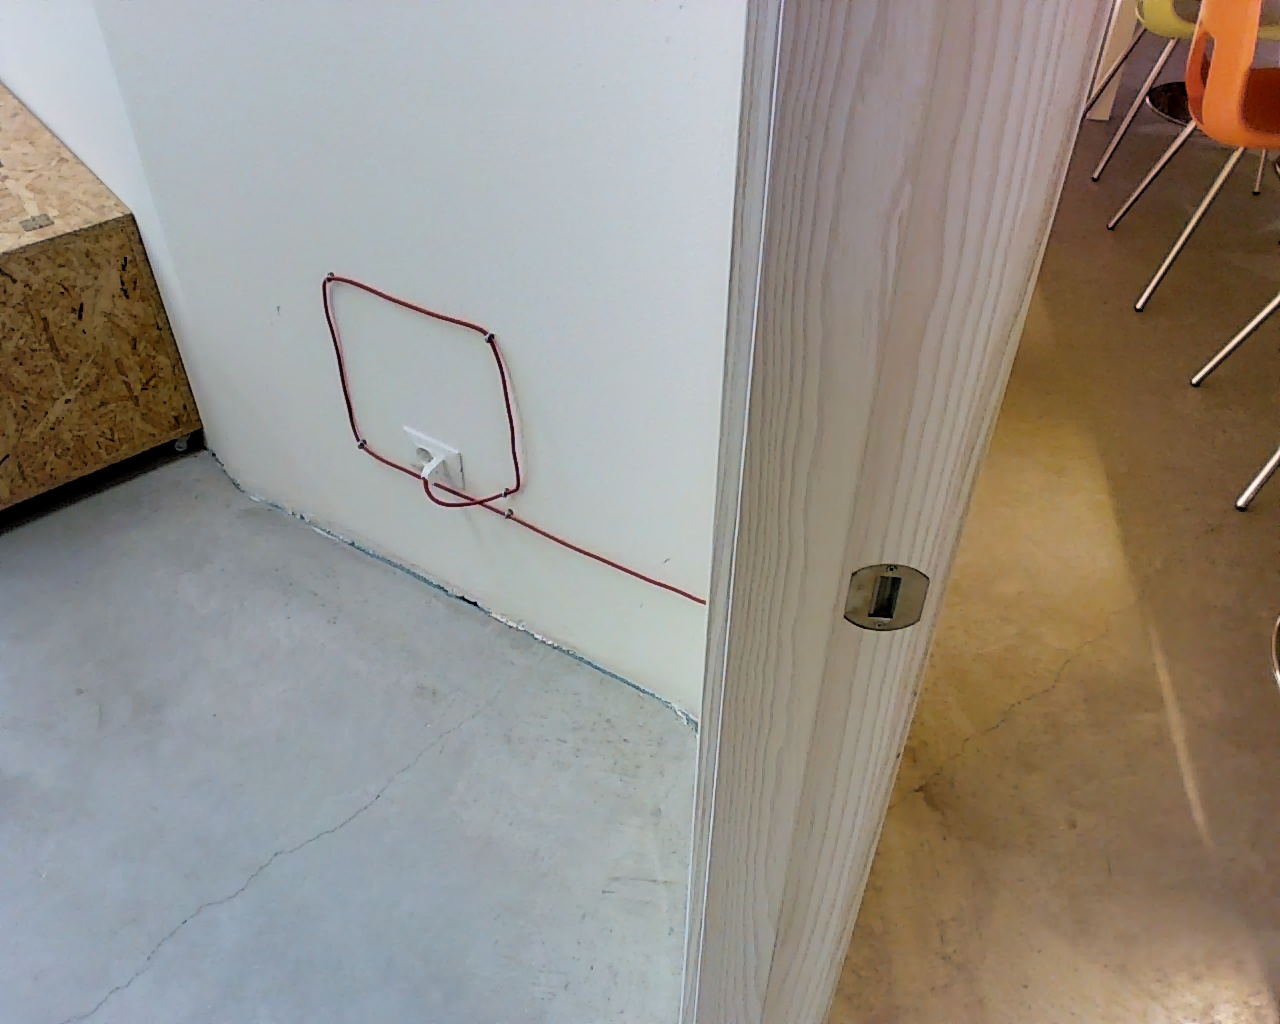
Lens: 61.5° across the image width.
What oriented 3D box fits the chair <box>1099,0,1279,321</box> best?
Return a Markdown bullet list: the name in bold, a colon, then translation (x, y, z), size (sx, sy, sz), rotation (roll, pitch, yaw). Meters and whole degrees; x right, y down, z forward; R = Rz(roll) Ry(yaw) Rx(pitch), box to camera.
- **chair**: translation (1.539, -0.970, 2.660), size (0.460, 0.800, 0.550), rotation (5, 42, 5)
